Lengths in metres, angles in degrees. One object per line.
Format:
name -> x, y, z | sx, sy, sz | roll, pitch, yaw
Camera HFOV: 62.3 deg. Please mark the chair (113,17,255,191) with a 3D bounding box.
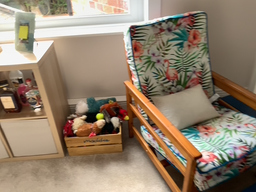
chair -> 0.480, 0.050, 1.380 | 0.810, 0.830, 0.870 | -17, 35, -22
